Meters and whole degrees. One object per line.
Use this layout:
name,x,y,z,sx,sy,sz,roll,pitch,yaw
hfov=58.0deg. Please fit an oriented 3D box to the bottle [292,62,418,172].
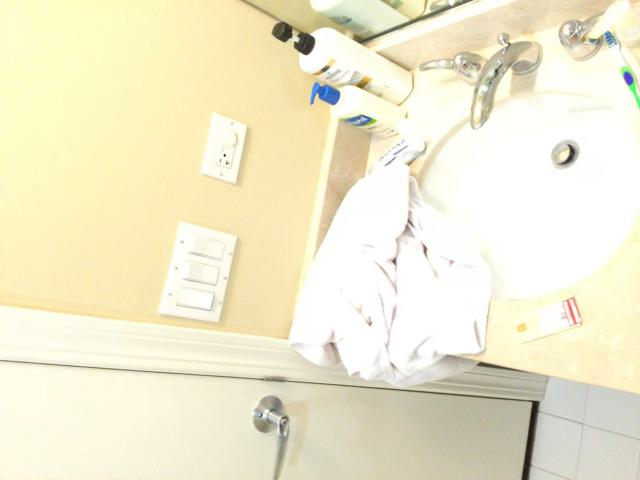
bottle,0.070,-0.230,1.120,0.200,0.130,0.110,17,-9,-34

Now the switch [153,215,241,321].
switch,-0.210,0.050,1.000,0.120,0.160,0.020,17,-9,-34

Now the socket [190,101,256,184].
socket,-0.170,-0.170,1.020,0.090,0.120,0.020,17,-9,-34

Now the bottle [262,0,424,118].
bottle,0.050,-0.340,1.100,0.290,0.100,0.110,17,-9,-34
